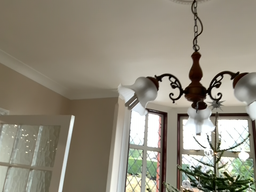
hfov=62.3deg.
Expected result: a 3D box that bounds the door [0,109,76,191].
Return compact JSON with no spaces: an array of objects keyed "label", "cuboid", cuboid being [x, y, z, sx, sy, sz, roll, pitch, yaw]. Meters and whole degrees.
[{"label":"door","cuboid":[-0.910,1.120,1.530,0.810,2.120,0.050,-1,-19,18]}]
